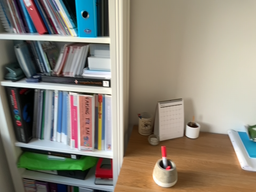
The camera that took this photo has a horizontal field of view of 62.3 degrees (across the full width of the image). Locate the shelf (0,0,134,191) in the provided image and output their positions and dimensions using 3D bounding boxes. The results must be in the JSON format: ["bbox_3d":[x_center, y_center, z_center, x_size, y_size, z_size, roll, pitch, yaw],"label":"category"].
[{"bbox_3d":[-0.340,0.000,1.110,0.690,1.880,0.330,4,23,9],"label":"shelf"}]

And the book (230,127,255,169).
[{"bbox_3d":[0.630,0.250,1.030,0.190,0.040,0.280,5,23,12],"label":"book"}]
